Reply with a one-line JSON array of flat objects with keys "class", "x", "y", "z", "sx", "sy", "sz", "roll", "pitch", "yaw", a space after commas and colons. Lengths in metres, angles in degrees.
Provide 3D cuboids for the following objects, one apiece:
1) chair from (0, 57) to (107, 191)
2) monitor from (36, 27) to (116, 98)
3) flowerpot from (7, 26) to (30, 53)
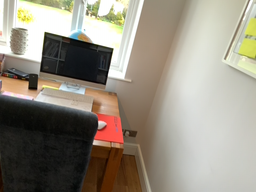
[{"class": "chair", "x": -0.480, "y": 0.420, "z": 1.310, "sx": 0.430, "sy": 1.110, "sz": 0.680, "roll": 13, "pitch": 22, "yaw": -8}, {"class": "monitor", "x": -0.450, "y": -0.270, "z": 1.830, "sx": 0.570, "sy": 0.440, "sz": 0.050, "roll": 18, "pitch": 21, "yaw": -14}, {"class": "flowerpot", "x": -1.000, "y": -0.520, "z": 1.940, "sx": 0.130, "sy": 0.190, "sz": 0.170, "roll": 12, "pitch": 22, "yaw": -10}]
